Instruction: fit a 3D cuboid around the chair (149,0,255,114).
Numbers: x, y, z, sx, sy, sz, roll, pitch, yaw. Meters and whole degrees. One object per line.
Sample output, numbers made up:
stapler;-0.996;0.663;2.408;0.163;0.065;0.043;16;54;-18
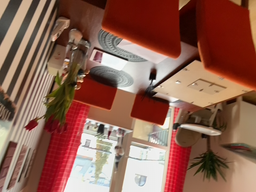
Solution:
chair;0.520;-0.440;1.420;0.410;0.950;0.580;17;159;-15

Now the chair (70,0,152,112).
chair;-0.150;-0.420;1.840;0.380;0.950;0.580;18;159;-16

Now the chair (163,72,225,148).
chair;0.980;0.240;3.160;0.610;0.910;0.550;17;159;-15

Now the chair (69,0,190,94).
chair;0.030;-0.590;1.270;0.410;0.960;0.580;19;159;-18
